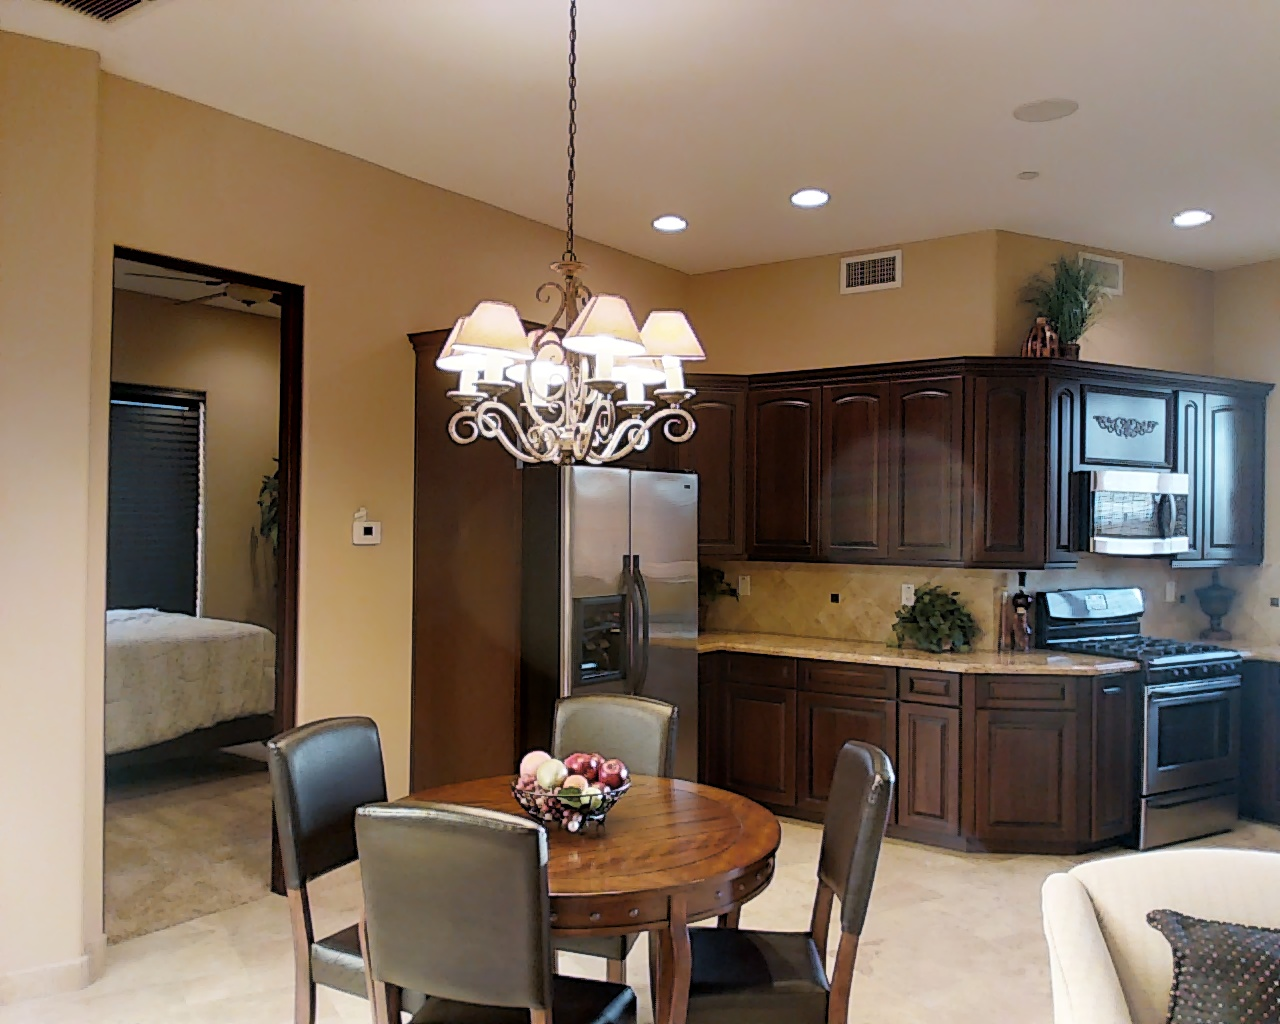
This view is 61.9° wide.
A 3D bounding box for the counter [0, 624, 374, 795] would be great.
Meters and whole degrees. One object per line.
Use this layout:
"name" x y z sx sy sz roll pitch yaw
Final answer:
"counter" -3.480 0.710 4.370 4.360 0.120 3.530 0 -1 -9
